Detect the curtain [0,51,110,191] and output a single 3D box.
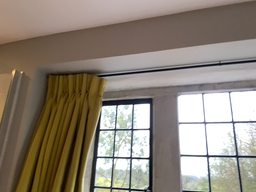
[{"bbox_3d":[-0.390,0.430,1.050,0.410,1.250,0.330,-3,-20,17],"label":"curtain"}]
